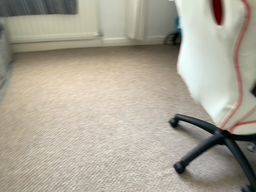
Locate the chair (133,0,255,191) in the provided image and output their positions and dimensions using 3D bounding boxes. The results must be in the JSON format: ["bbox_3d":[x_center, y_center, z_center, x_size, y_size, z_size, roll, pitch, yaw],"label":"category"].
[{"bbox_3d":[0.470,-0.150,0.900,0.720,1.230,0.640,-4,38,-10],"label":"chair"}]
